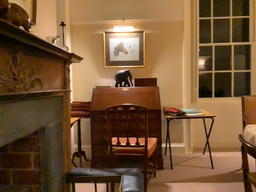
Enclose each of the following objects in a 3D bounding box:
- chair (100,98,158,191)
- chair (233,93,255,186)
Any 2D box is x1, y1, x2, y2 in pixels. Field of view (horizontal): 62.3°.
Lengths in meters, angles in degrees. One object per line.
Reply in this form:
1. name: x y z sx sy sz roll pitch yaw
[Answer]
1. chair: 0.040 0.490 2.310 0.520 0.900 0.510 -1 3 11
2. chair: 1.610 0.440 2.380 0.590 0.910 0.580 -1 4 4
